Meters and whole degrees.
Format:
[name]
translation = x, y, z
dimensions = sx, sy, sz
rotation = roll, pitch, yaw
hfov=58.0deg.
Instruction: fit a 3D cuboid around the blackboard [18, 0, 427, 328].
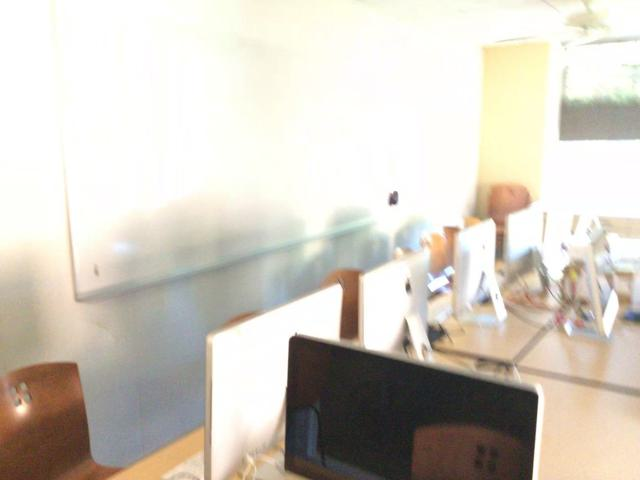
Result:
[blackboard]
translation = -0.130, -0.600, 3.460
dimensions = 0.220, 1.380, 3.150
rotation = 7, 13, 34
